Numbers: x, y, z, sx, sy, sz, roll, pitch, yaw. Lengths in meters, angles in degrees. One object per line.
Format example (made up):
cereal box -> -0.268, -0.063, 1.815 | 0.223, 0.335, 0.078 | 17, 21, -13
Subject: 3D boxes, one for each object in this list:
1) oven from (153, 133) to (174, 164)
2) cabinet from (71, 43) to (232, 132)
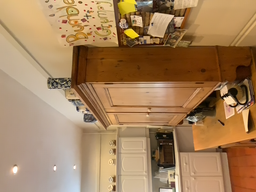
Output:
oven -> 0.710, 1.080, 4.310 | 0.510, 0.330, 0.570 | 88, -178, -73
cabinet -> 0.150, 0.070, 2.120 | 1.670, 0.970, 0.320 | 88, -178, -72
